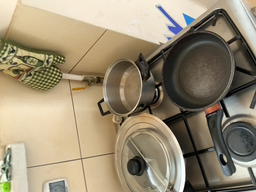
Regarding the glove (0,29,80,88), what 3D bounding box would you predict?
[{"bbox_3d":[-0.310,-0.110,0.680,0.110,0.270,0.120,-29,67,44],"label":"glove"}]
